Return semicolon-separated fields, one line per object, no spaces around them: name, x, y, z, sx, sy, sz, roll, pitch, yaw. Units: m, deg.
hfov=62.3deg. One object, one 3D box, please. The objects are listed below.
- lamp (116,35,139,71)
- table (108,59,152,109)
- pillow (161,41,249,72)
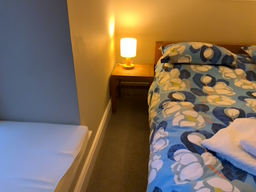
lamp;0.000;-0.490;2.370;0.230;0.310;0.320;3;27;3
table;0.040;-0.160;2.520;0.460;0.420;0.470;4;27;5
pillow;0.740;-0.420;2.180;0.770;0.170;0.380;4;27;4
